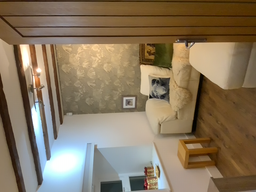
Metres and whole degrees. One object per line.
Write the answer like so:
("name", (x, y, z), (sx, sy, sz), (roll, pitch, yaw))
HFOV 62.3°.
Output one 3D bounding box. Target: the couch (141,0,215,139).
("couch", (0.690, -0.460, 3.540), (1.030, 0.680, 2.060), (-107, 17, -66))
